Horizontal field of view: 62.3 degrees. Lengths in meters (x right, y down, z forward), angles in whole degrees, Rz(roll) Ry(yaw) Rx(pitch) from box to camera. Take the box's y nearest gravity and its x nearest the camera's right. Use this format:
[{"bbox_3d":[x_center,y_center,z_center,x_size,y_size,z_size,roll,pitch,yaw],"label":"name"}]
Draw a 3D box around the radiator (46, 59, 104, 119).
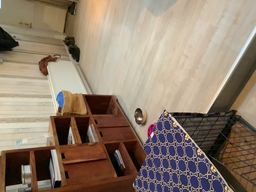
[{"bbox_3d":[-0.910,-0.180,3.360,1.620,0.540,0.100,53,133,47],"label":"radiator"}]
